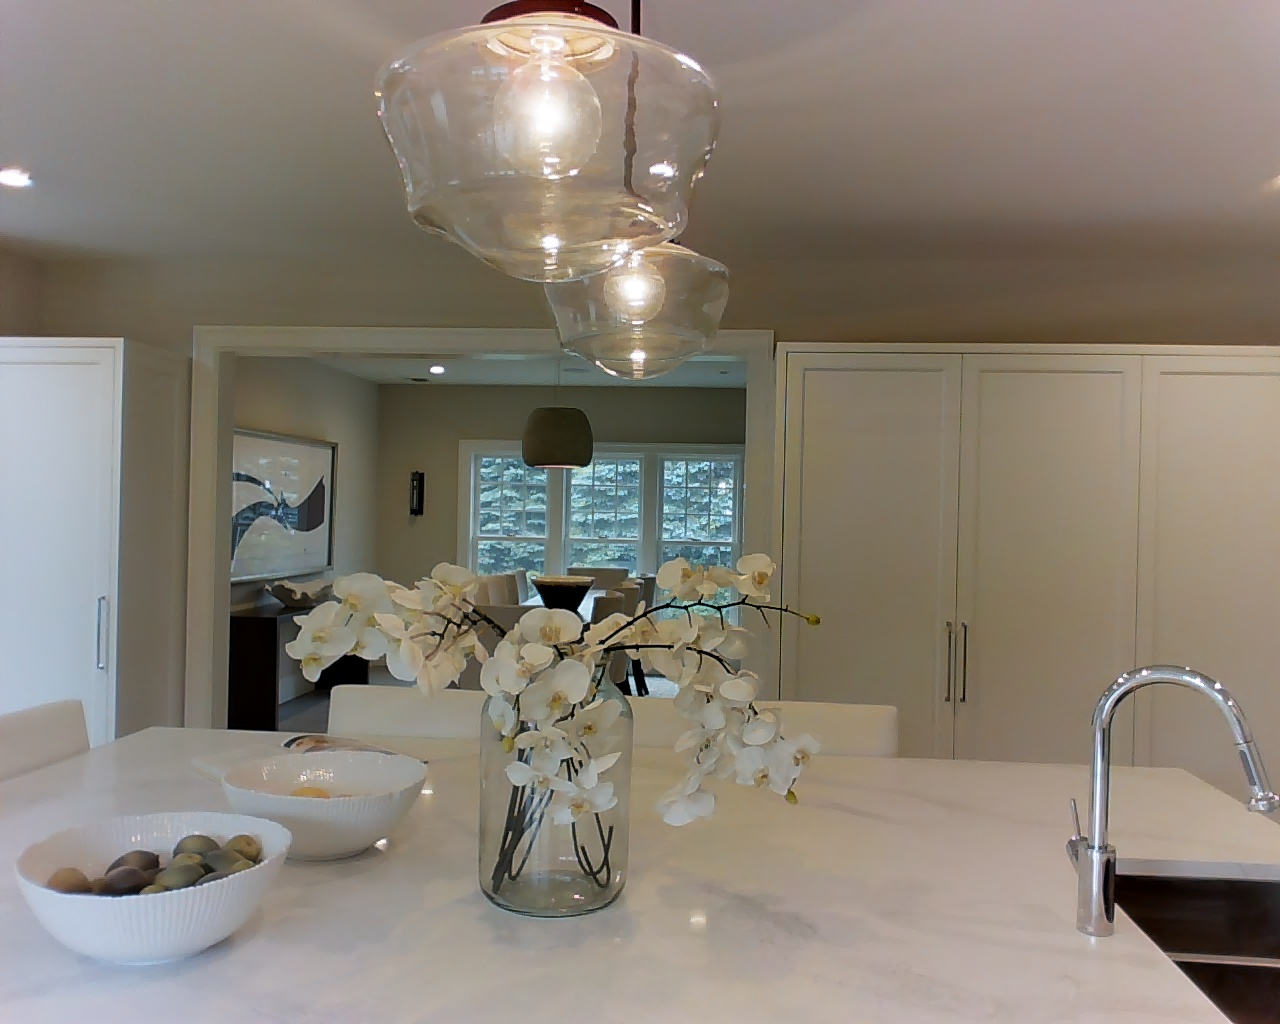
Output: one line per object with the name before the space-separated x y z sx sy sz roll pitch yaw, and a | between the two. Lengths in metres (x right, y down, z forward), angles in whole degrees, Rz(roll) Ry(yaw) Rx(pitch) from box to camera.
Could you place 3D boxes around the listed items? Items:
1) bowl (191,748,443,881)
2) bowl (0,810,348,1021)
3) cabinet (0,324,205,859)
bowl | -0.570 0.540 1.960 0.330 0.130 0.350 1 0 6
bowl | -0.670 0.540 1.500 0.370 0.120 0.360 1 0 17
cabinet | -2.610 0.340 5.030 0.830 2.330 0.610 1 0 6
